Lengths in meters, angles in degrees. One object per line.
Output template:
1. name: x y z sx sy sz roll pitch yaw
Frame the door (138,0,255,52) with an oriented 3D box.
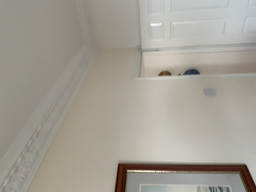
1. door: 1.080 -0.950 2.440 0.030 1.910 0.860 -81 -12 -53
